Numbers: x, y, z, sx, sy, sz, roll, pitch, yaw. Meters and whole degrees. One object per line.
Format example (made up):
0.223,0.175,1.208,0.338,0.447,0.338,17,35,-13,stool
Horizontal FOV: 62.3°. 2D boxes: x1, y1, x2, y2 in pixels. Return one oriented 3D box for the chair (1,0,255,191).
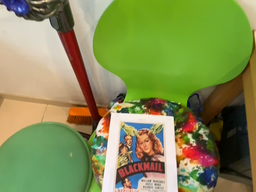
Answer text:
0.080,0.150,0.750,0.440,0.880,0.500,8,64,3,chair
